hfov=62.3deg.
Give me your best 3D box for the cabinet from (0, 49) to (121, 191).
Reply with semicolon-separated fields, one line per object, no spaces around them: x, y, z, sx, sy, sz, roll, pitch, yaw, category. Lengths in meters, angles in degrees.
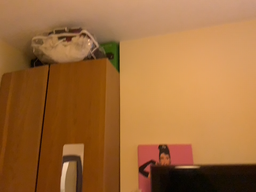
-0.610;0.870;1.570;1.060;2.370;0.370;-6;-18;14;cabinet
